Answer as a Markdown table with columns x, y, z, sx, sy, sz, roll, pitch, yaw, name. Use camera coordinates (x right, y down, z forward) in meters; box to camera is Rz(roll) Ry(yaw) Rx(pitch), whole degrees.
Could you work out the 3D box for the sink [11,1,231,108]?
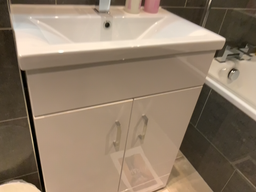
| x | y | z | sx | sy | sz | roll | pitch | yaw | name |
| --- | --- | --- | --- | --- | --- | --- | --- | --- | --- |
| -0.040 | -0.190 | 0.740 | 0.620 | 0.150 | 0.400 | -9 | 39 | -25 | sink |
